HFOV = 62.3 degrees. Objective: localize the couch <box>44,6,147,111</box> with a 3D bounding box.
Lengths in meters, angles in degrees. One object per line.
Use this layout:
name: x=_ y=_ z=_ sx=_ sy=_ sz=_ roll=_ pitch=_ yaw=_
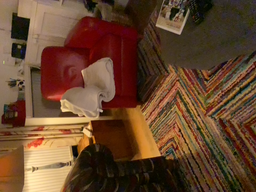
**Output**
couch: x=-0.370 y=-0.260 z=2.160 sx=0.780 sy=0.790 sz=0.790 roll=-12 pitch=78 yaw=59
